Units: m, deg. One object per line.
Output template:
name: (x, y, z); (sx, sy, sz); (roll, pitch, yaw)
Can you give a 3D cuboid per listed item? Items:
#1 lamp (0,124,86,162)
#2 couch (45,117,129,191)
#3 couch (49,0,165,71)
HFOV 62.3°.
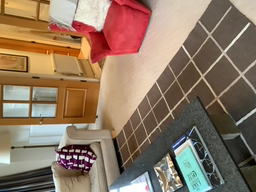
lamp: (-1.600, 0.810, 3.750); (0.460, 1.580, 0.410); (-66, 34, 34)
couch: (-0.500, 1.490, 2.630); (0.930, 0.800, 2.290); (-55, 41, 44)
couch: (-0.340, -0.970, 2.470); (0.990, 0.910, 0.860); (62, 139, 44)
